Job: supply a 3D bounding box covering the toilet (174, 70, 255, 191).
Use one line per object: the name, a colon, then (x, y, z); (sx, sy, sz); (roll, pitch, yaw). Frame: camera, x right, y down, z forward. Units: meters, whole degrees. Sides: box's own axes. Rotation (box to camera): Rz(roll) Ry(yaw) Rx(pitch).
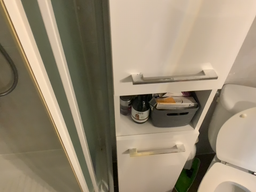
toilet: (0.510, 0.420, 1.070); (0.420, 0.800, 0.650); (15, 49, 12)
